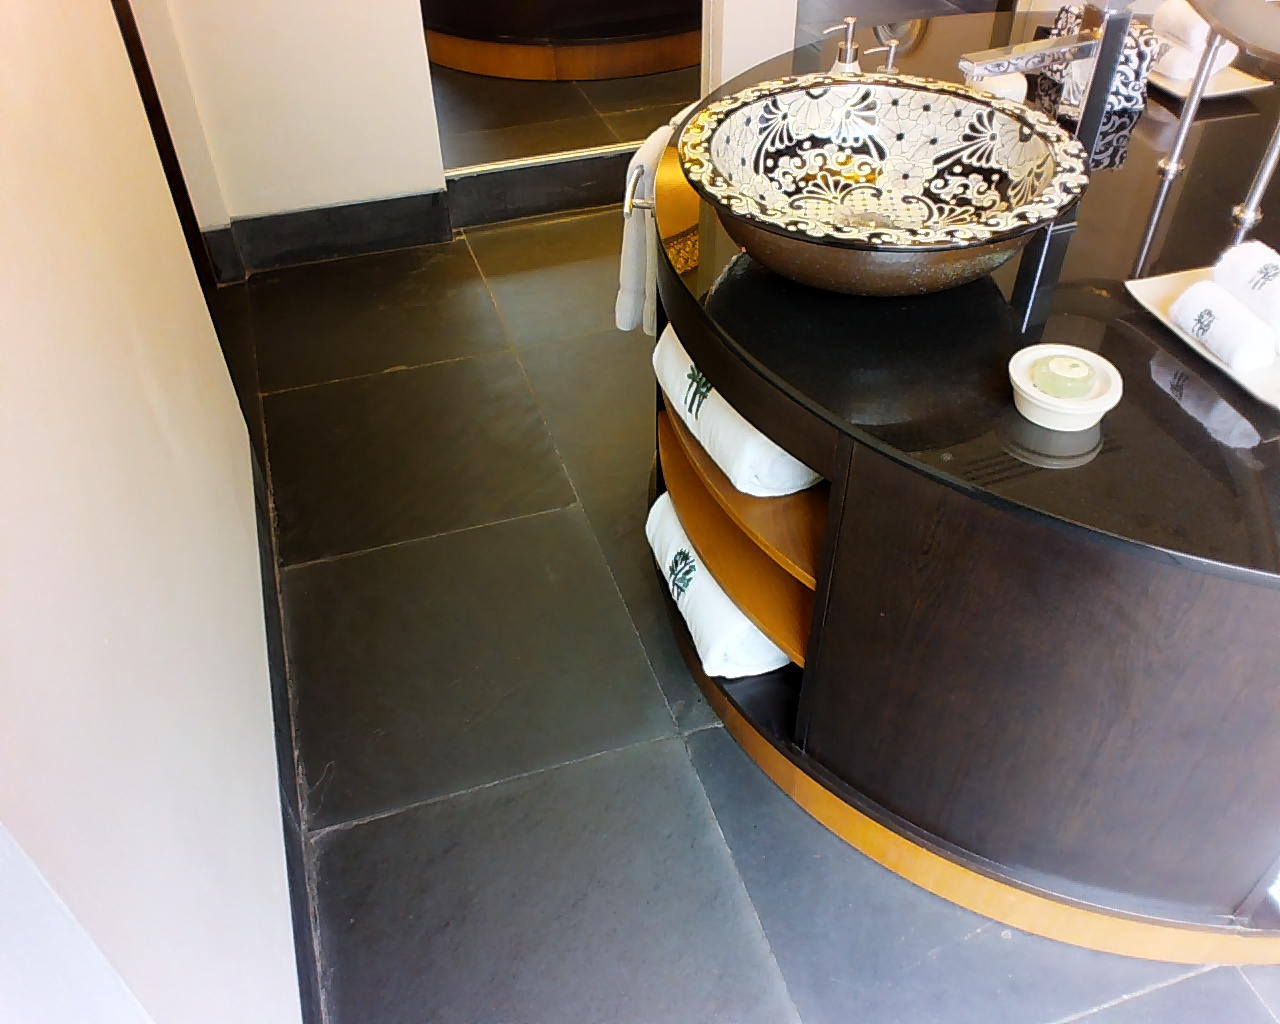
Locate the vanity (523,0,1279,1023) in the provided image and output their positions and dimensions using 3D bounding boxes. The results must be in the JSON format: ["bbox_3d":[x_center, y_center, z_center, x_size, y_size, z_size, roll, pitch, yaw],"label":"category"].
[{"bbox_3d":[0.880,-0.170,1.730,1.710,0.800,1.550,-15,45,-14],"label":"vanity"}]
